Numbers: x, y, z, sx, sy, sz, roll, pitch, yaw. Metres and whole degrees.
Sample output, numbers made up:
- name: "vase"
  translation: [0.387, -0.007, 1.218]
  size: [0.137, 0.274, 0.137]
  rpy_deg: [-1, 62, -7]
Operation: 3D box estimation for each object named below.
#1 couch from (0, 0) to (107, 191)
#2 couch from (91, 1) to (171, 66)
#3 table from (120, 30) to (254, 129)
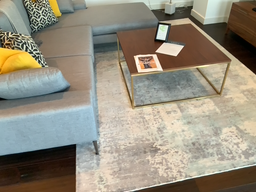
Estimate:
- name: "couch"
  translation: [-0.810, -0.490, 2.170]
  size: [0.910, 0.820, 2.750]
  rpy_deg: [-7, 40, -6]
- name: "couch"
  translation: [-0.020, -0.920, 2.960]
  size: [0.900, 0.410, 1.080]
  rpy_deg: [-7, 40, -6]
- name: "table"
  translation: [0.460, -0.230, 2.110]
  size: [0.940, 0.410, 0.940]
  rpy_deg: [-8, 40, -6]
